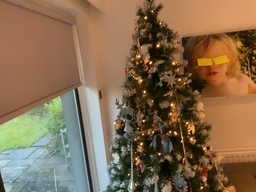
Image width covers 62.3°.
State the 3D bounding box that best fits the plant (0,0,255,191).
[{"bbox_3d":[0.160,0.340,1.540,1.190,1.990,1.280,-4,11,6],"label":"plant"}]
